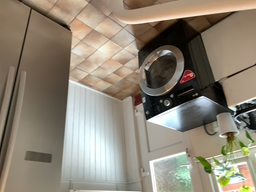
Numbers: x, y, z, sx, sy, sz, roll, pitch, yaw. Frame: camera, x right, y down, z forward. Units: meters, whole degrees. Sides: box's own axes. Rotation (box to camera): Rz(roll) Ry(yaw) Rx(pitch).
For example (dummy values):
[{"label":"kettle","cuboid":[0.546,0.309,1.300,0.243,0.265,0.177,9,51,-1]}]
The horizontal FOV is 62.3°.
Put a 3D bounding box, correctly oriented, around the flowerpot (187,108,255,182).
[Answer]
[{"label":"flowerpot","cuboid":[0.820,0.440,1.800,0.430,0.490,0.350,21,142,-39]}]
